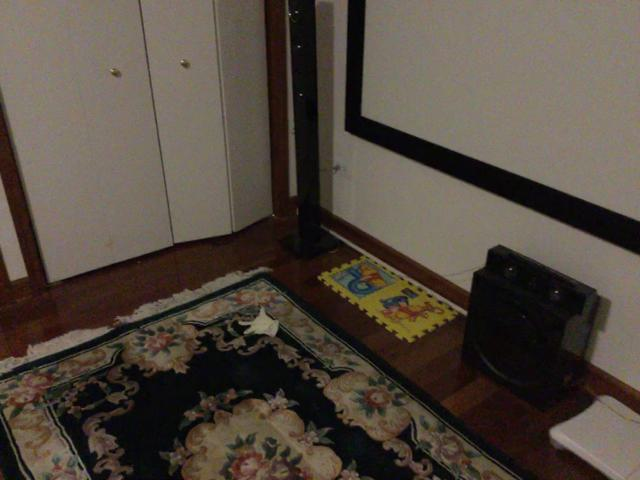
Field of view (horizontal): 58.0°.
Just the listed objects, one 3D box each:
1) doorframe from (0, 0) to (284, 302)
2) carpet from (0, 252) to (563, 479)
[{"bbox_3d":[-0.750,-0.700,2.360,1.300,1.710,0.140,-18,33,-31],"label":"doorframe"},{"bbox_3d":[-0.170,0.640,1.710,1.240,0.070,2.000,-18,34,-32],"label":"carpet"}]
